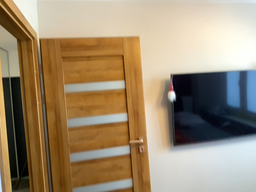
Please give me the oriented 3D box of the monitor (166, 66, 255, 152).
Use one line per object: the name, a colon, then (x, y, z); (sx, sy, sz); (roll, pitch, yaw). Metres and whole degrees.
monitor: (1.020, 0.100, 2.210); (1.230, 0.730, 0.040); (-8, 3, -12)
